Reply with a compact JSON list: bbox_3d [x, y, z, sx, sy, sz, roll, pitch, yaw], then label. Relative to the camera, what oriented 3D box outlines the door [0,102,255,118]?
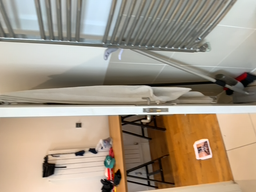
[{"bbox_3d":[0.020,0.080,1.600,0.940,1.980,0.060,174,96,-74],"label":"door"}]
